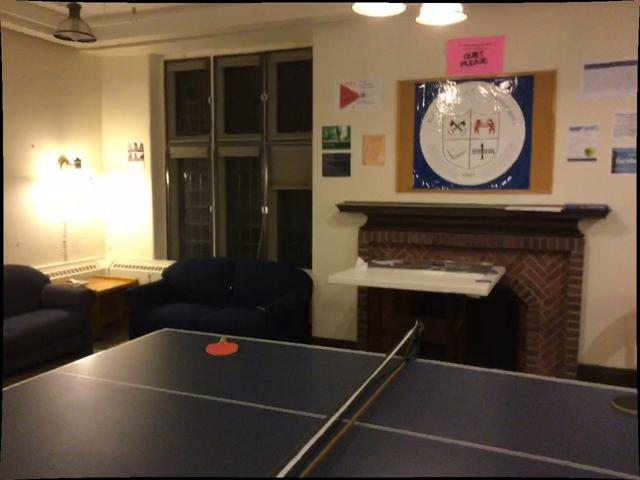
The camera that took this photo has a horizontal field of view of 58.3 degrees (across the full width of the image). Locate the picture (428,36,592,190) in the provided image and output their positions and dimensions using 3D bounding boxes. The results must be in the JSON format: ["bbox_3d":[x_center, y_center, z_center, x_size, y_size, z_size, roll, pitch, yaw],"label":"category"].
[{"bbox_3d":[1.349,-0.871,4.140,1.079,0.951,0.130,-2,5,27],"label":"picture"}]

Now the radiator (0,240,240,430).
[{"bbox_3d":[-2.348,0.591,4.190,1.789,0.771,3.820,1,6,22],"label":"radiator"}]
